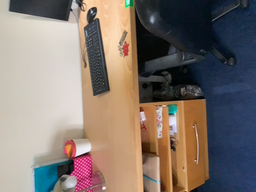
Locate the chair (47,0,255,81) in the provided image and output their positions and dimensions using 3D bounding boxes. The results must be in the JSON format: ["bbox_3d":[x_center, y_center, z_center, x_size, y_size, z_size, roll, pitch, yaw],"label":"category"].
[{"bbox_3d":[0.190,-0.480,1.190,0.750,1.010,0.670,-10,85,50],"label":"chair"}]
